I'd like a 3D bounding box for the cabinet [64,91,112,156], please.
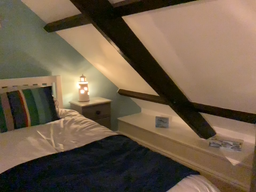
[{"bbox_3d":[-0.500,0.320,2.720,0.440,0.670,0.370,-11,16,-42],"label":"cabinet"}]
